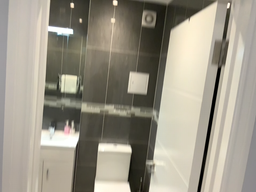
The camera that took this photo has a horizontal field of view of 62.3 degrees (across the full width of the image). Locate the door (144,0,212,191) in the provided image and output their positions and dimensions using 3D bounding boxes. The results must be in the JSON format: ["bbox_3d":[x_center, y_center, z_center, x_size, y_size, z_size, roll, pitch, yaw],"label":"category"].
[{"bbox_3d":[0.200,0.530,1.340,0.020,1.970,0.700,6,7,-5],"label":"door"}]
